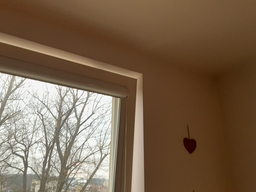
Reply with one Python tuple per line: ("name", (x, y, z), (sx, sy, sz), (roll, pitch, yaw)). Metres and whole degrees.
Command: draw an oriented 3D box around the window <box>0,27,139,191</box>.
("window", (-0.330, 0.480, 0.890), (0.790, 1.440, 0.200), (14, -25, -32))
